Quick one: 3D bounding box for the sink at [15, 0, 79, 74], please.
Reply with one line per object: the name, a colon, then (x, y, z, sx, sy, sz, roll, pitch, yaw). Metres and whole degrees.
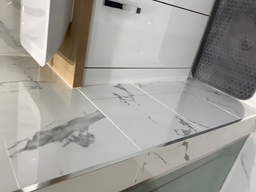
sink: (-0.290, -0.420, 0.740, 0.360, 0.100, 0.590, 37, 122, 42)
